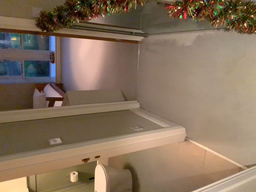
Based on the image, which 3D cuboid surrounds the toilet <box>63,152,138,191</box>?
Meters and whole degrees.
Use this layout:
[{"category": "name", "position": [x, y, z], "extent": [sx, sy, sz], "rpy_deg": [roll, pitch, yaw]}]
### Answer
[{"category": "toilet", "position": [-0.380, 1.230, 2.830], "extent": [0.460, 0.850, 0.640], "rpy_deg": [28, 117, 54]}]
